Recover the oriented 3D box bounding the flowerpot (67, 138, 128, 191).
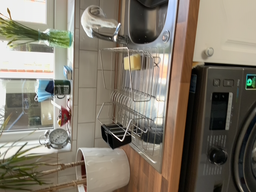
[{"bbox_3d":[-0.170,0.380,1.110,0.260,0.240,0.210,-153,65,-61],"label":"flowerpot"}]
